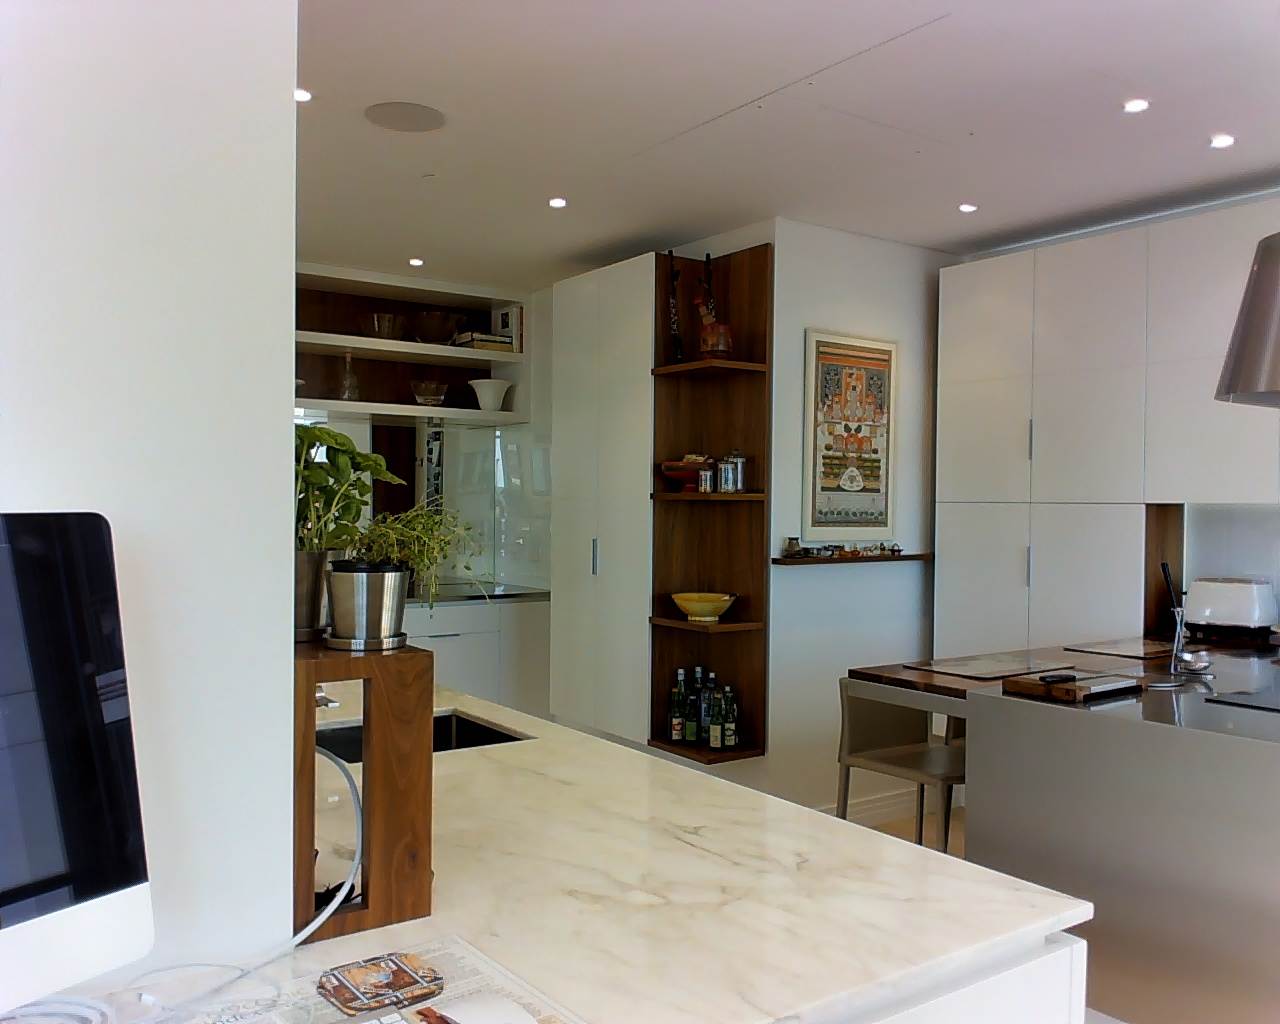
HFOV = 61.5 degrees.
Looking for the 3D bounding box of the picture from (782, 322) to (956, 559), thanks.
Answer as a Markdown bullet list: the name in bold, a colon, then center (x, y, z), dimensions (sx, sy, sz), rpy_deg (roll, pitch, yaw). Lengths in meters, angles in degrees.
- **picture**: center (0.980, -0.280, 4.520), dimensions (0.910, 0.930, 0.110), rpy_deg (0, 1, -34)
